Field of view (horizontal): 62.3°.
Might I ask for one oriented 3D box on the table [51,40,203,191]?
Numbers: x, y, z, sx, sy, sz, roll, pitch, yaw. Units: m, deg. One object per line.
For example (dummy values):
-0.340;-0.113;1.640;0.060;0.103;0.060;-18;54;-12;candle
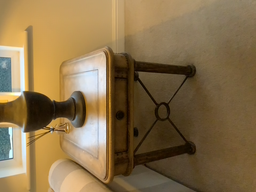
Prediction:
-0.060;0.080;1.370;0.810;0.620;0.630;1;92;55;table
